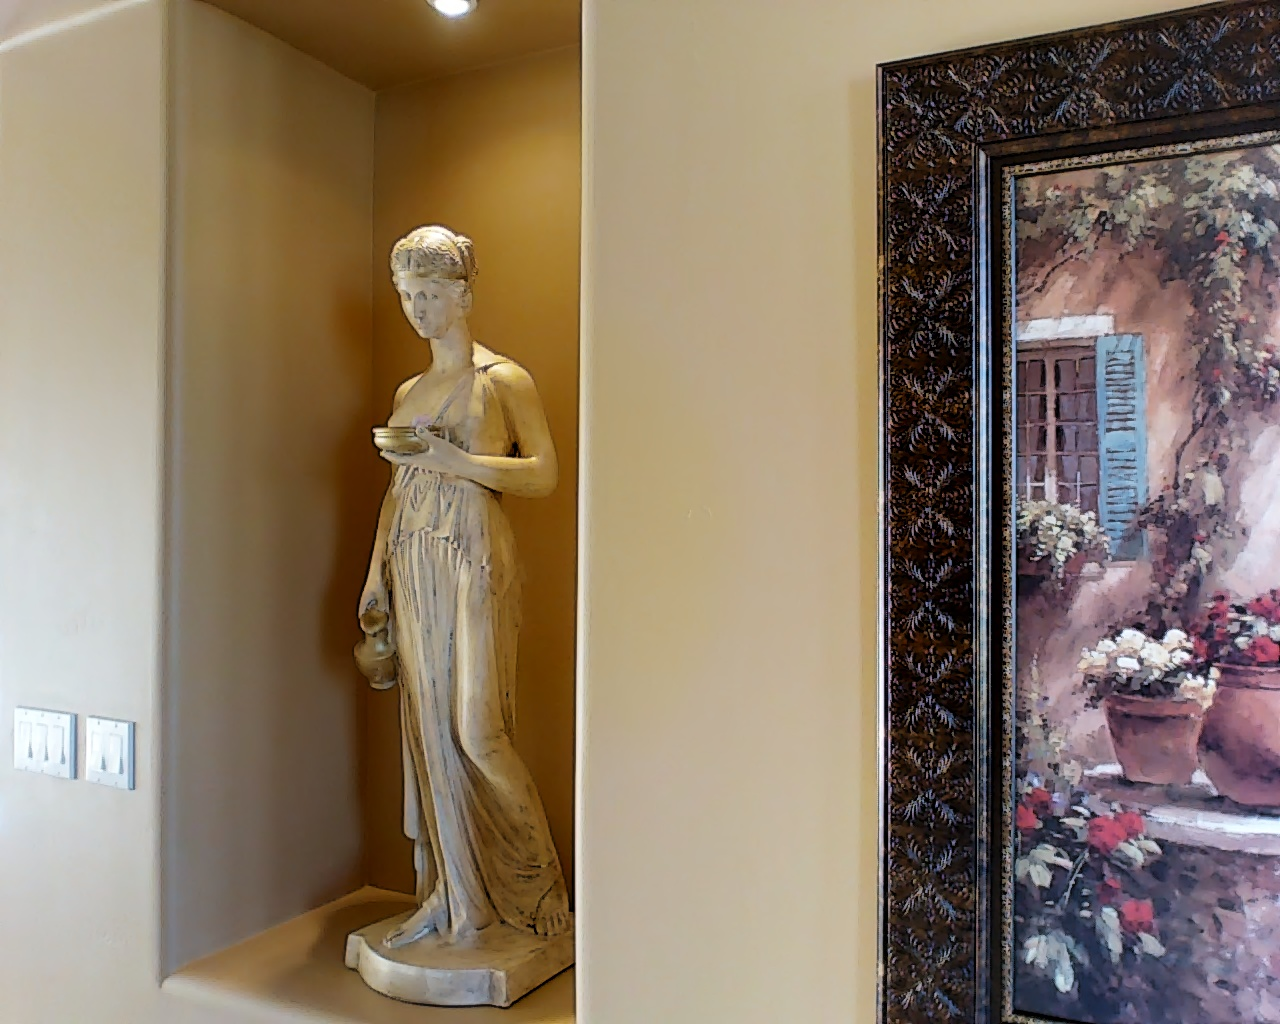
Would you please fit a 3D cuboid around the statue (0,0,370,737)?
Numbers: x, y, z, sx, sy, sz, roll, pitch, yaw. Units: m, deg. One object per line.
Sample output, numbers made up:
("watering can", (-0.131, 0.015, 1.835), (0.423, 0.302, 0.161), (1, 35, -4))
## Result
("statue", (-0.760, -0.270, 1.830), (0.360, 1.200, 0.450), (-1, -1, 29))
